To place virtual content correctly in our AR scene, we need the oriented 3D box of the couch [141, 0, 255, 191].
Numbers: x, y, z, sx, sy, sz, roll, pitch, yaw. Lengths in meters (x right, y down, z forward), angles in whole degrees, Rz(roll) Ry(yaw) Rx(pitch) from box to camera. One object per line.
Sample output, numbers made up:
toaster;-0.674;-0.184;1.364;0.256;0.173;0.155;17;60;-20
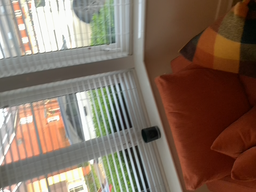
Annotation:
couch;0.750;0.060;1.170;1.030;0.840;0.970;146;110;-70
